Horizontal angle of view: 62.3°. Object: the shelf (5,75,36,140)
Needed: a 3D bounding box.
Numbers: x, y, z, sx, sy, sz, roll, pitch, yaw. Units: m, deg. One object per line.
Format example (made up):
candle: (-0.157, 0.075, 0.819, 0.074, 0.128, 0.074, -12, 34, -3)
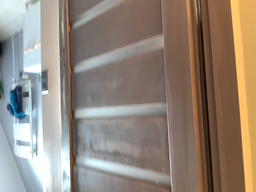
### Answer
shelf: (-1.670, 0.180, 3.270, 0.610, 0.920, 0.190, -5, 176, 40)
